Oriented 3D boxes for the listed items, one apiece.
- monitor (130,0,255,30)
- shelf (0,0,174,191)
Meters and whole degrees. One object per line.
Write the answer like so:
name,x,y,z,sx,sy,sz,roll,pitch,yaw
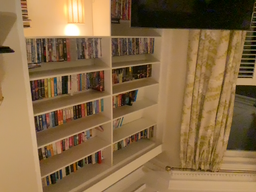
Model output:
monitor,0.550,-0.910,1.760,1.070,0.690,0.050,-1,-164,-2
shelf,-0.240,0.000,2.210,0.430,1.950,1.700,17,-157,40
